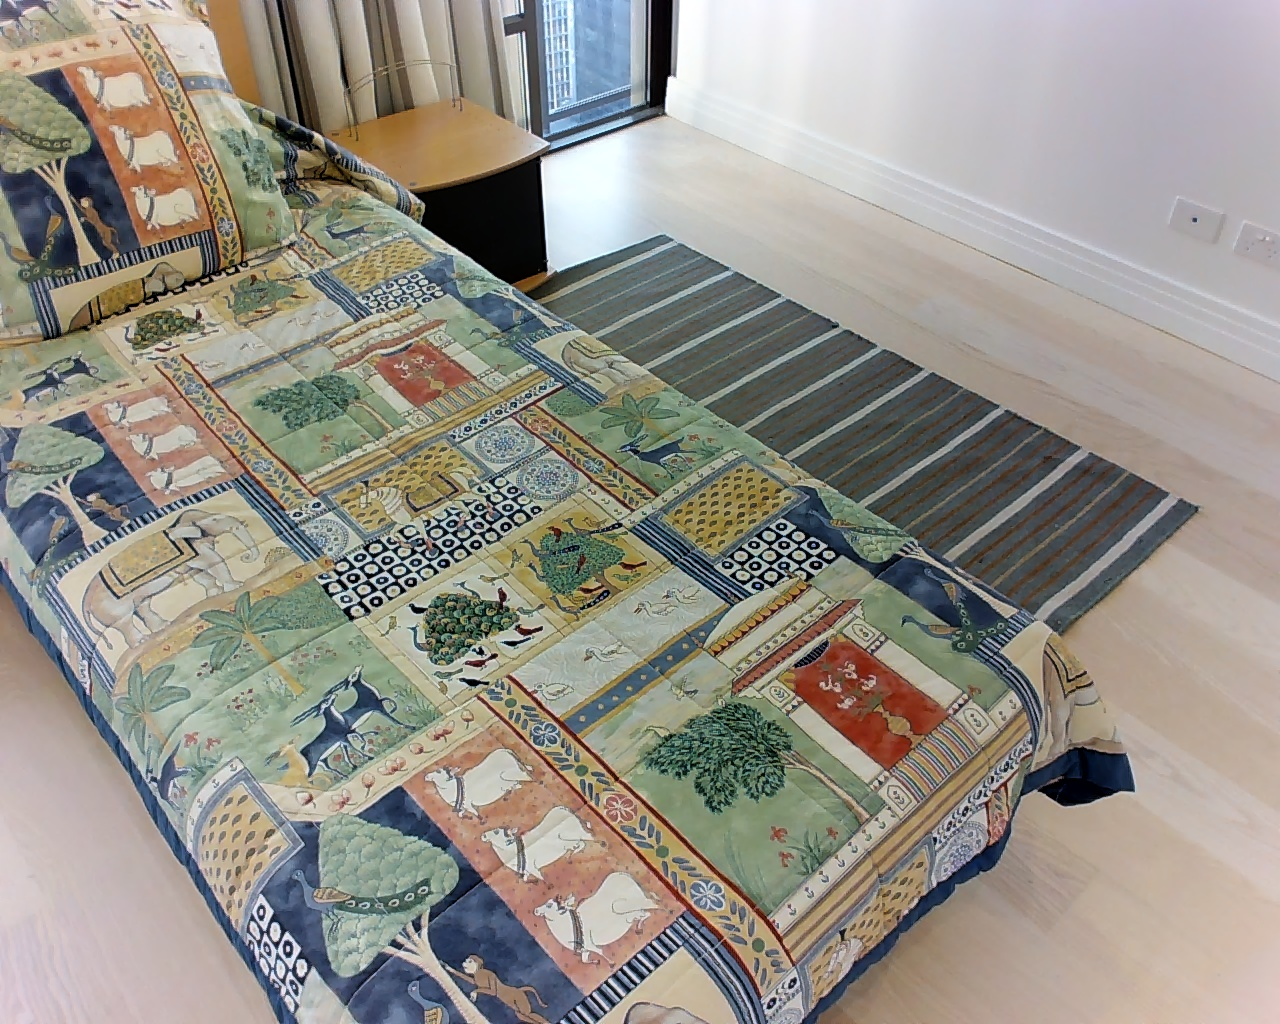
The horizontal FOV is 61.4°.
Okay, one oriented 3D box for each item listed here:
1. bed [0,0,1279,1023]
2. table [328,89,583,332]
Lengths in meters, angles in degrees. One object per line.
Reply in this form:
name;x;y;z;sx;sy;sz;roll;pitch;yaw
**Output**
bed;-0.500;-0.230;1.630;1.090;0.750;2.390;-31;50;-31
table;-0.440;-0.750;2.640;0.420;0.350;0.420;-29;50;-30
